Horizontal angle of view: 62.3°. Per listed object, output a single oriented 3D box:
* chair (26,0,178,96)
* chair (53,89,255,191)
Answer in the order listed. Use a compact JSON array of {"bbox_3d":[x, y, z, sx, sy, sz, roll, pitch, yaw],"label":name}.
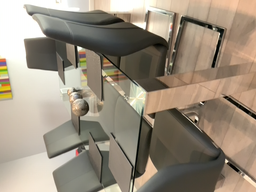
[{"bbox_3d":[-0.190,-0.420,1.650,0.420,0.990,0.540,47,139,48],"label":"chair"},{"bbox_3d":[0.220,0.360,1.080,0.520,1.020,0.440,49,141,46],"label":"chair"}]
